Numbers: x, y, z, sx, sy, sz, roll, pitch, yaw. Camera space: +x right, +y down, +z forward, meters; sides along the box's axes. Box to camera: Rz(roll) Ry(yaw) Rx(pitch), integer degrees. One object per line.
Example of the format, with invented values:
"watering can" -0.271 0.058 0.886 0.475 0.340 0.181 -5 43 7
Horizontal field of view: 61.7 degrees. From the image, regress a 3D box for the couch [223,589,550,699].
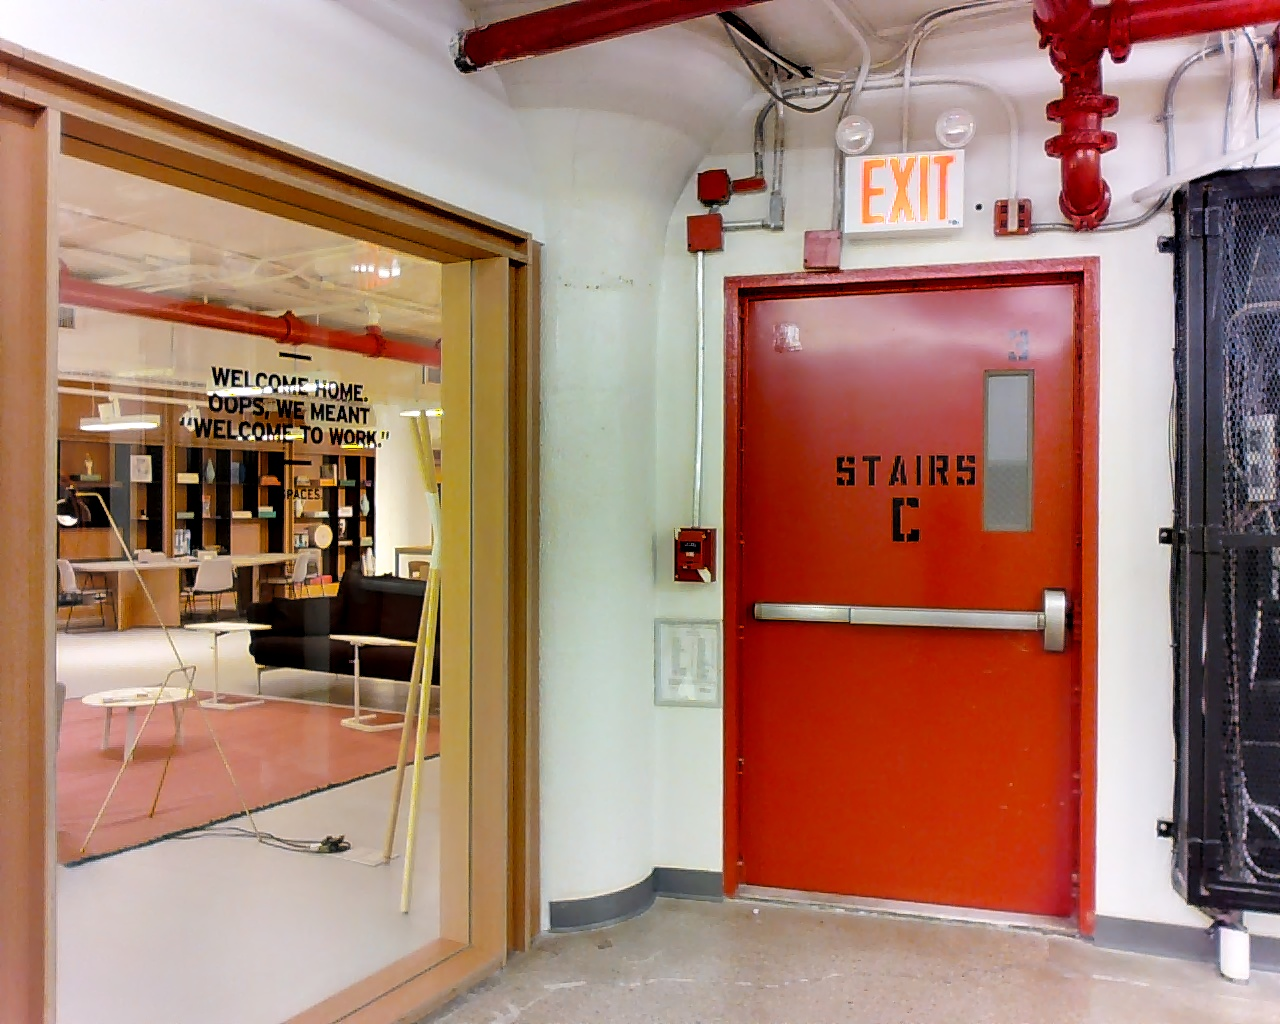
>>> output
"couch" -1.930 0.950 8.110 2.260 0.580 1.080 0 0 29
